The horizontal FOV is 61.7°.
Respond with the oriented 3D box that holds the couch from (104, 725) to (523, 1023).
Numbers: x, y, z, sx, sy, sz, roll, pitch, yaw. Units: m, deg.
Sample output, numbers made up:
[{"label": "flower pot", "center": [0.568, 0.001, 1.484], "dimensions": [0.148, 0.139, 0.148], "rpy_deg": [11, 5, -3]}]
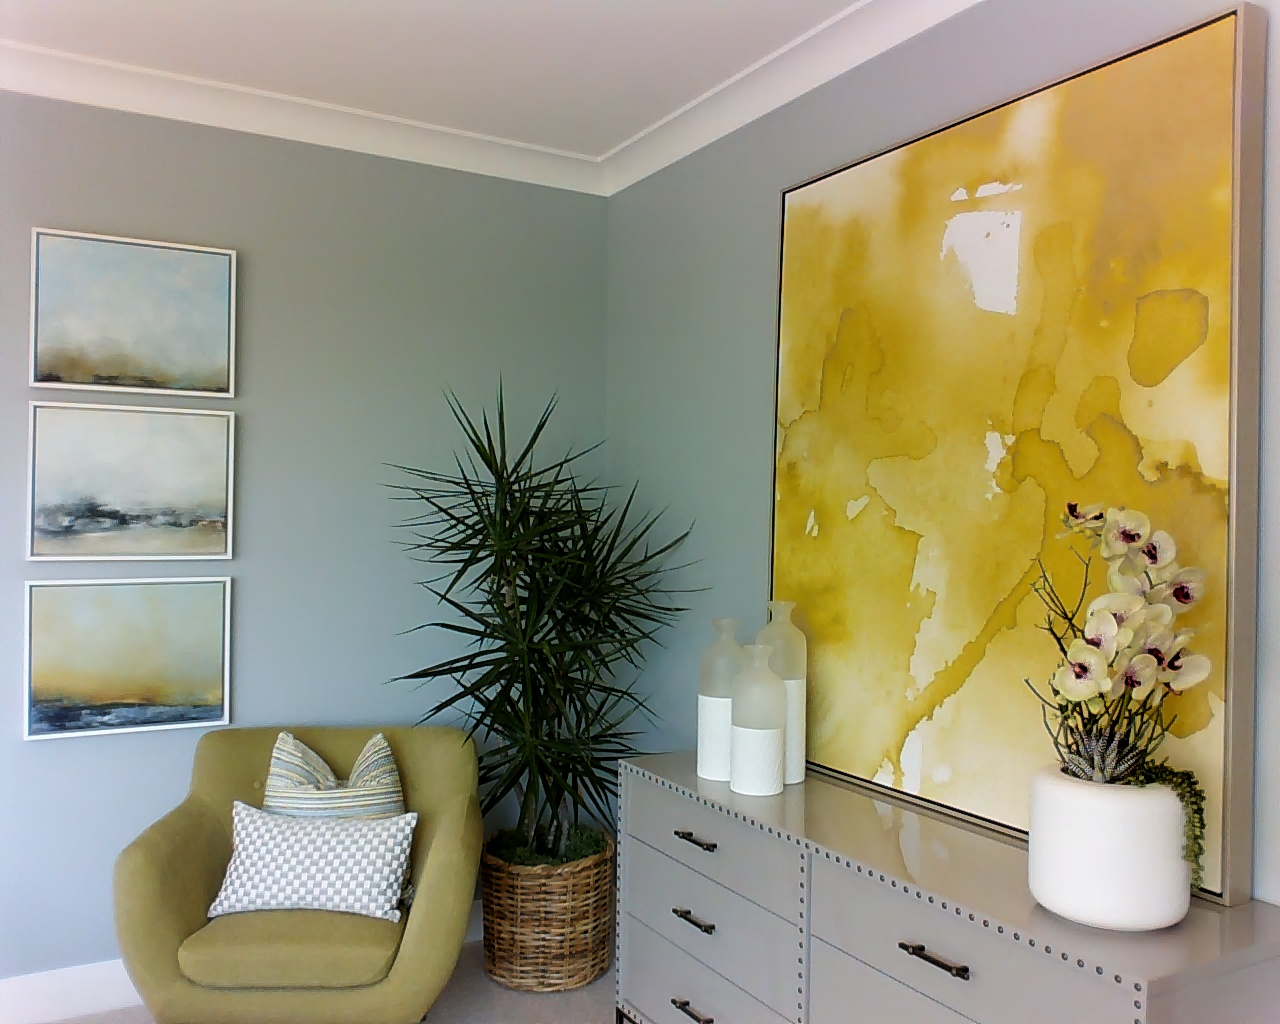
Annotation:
[{"label": "couch", "center": [-0.800, 1.060, 2.860], "dimensions": [0.930, 0.840, 0.690], "rpy_deg": [1, 0, -4]}]
